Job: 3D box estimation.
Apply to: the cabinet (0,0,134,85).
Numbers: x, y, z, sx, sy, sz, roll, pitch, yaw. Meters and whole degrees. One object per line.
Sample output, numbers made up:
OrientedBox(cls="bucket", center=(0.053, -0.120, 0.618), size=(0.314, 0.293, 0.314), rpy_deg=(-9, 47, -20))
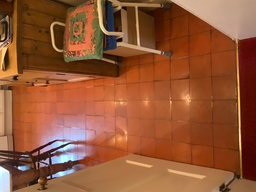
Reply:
OrientedBox(cls="cabinet", center=(-0.820, -0.440, 2.130), size=(1.520, 0.910, 0.570), rpy_deg=(-1, 90, 42))
